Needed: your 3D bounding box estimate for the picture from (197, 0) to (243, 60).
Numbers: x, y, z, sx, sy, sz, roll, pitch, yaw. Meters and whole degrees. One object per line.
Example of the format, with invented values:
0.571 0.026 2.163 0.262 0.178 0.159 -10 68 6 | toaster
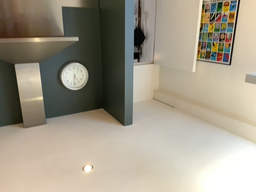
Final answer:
0.970 -0.740 2.280 0.070 0.650 0.420 -11 -158 -31 | picture
